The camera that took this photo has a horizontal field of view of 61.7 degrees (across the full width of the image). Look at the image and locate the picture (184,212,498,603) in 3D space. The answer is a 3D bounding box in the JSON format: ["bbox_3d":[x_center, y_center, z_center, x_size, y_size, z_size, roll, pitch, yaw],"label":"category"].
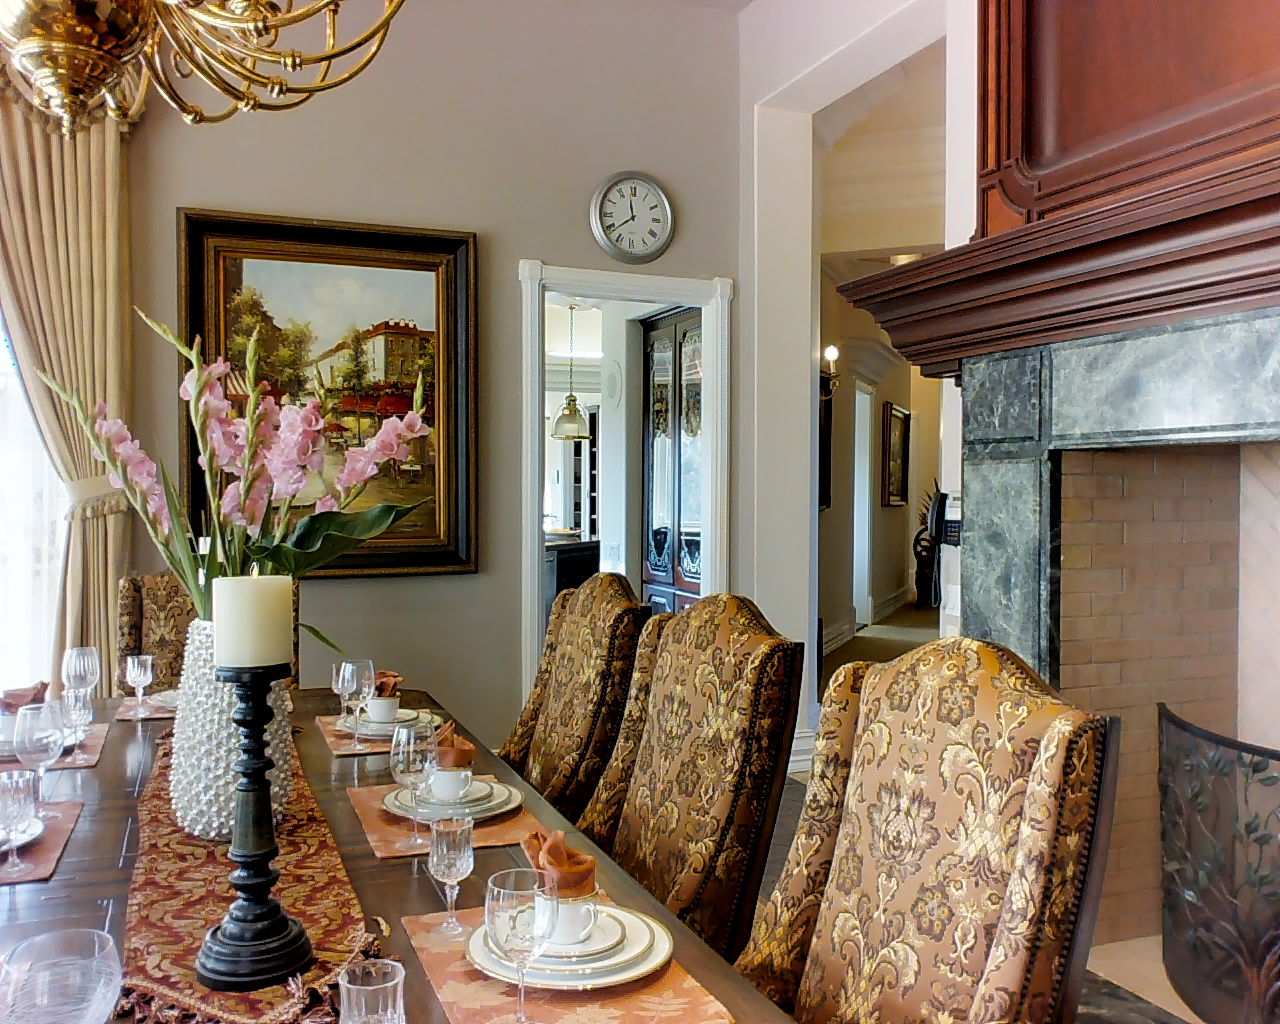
[{"bbox_3d":[-1.310,-0.430,4.790,1.330,1.630,0.140,1,1,-23],"label":"picture"}]

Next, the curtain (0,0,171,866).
[{"bbox_3d":[-2.780,-0.590,4.070,1.790,3.839,0.400,1,1,-23],"label":"curtain"}]

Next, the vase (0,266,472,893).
[{"bbox_3d":[-0.760,0.100,2.060,0.680,0.990,0.520,1,1,22],"label":"vase"}]
